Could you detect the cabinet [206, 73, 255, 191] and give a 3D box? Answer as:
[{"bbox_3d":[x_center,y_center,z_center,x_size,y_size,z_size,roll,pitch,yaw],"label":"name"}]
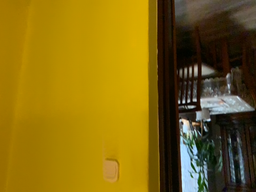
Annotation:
[{"bbox_3d":[2.250,0.680,4.010,1.230,2.110,0.500,-9,163,37],"label":"cabinet"}]
